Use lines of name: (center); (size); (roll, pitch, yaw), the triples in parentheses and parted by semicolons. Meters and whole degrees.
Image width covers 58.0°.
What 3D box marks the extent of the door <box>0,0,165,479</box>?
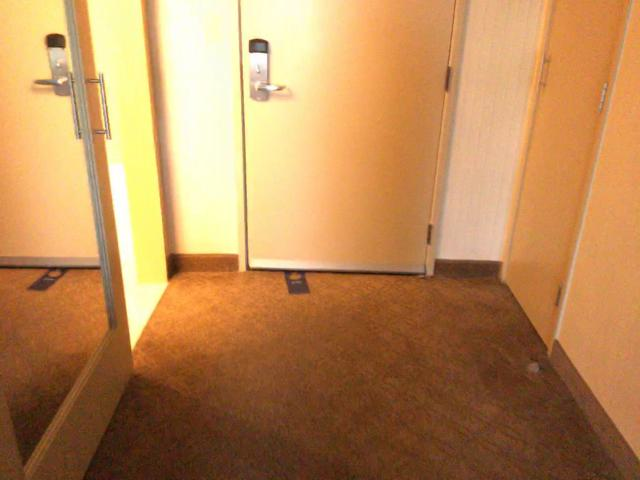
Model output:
door: (-0.670, -0.210, 1.400); (0.160, 1.940, 0.990); (1, 23, 0)

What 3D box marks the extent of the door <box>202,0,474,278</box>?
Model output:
door: (0.070, -0.760, 2.490); (1.090, 1.970, 0.160); (1, 23, 0)

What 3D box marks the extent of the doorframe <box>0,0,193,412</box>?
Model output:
doorframe: (-0.790, -0.570, 2.080); (0.300, 2.100, 1.030); (1, 23, 0)

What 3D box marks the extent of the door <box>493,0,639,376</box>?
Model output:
door: (0.920, -0.620, 2.170); (0.050, 2.160, 0.770); (1, 23, 0)
